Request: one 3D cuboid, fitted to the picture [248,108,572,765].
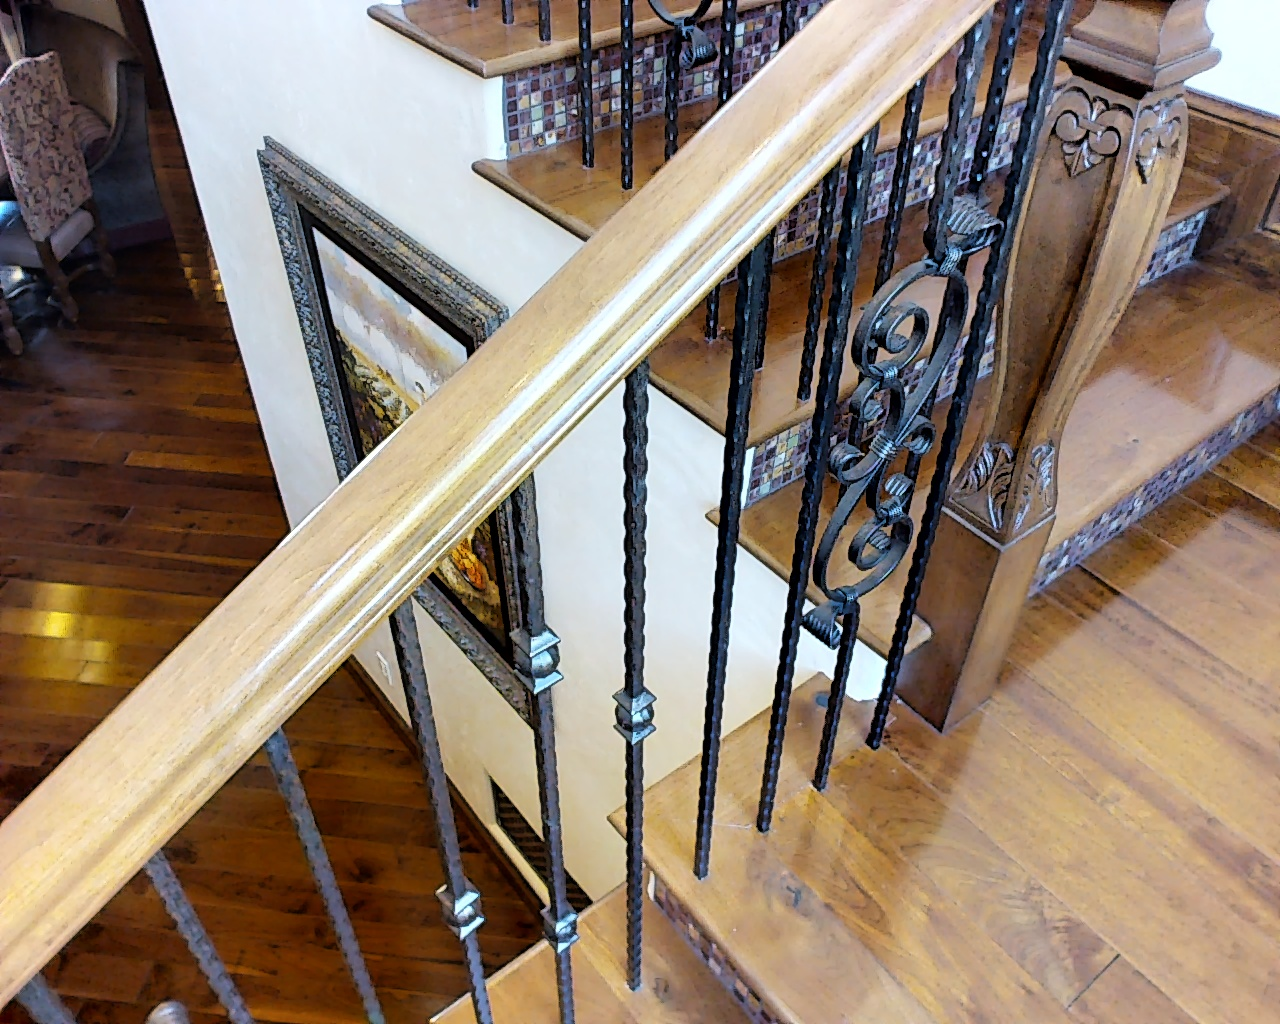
[{"bbox_3d":[-0.500,-0.140,2.420,0.060,1.230,1.010,-28,49,-27],"label":"picture"}]
